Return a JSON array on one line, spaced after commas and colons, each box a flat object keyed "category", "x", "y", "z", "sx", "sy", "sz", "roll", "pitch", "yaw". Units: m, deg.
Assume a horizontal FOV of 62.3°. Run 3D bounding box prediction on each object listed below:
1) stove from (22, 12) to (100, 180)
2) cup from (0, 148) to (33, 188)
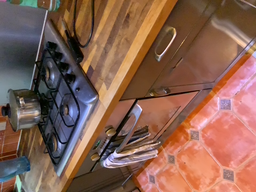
[{"category": "stove", "x": -0.380, "y": 0.010, "z": 1.030, "sx": 0.580, "sy": 0.030, "sz": 0.570, "roll": 55, "pitch": 131, "yaw": 28}, {"category": "cup", "x": -0.840, "y": 0.500, "z": 1.430, "sx": 0.170, "sy": 0.300, "sz": 0.170, "roll": -52, "pitch": 58, "yaw": 39}]
